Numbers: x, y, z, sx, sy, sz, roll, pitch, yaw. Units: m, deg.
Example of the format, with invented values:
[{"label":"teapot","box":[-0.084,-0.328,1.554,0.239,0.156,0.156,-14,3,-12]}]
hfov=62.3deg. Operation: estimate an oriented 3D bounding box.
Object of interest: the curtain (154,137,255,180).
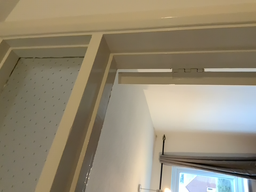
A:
[{"label":"curtain","box":[1.420,0.930,3.130,0.150,2.020,0.470,68,-152,-56]}]
